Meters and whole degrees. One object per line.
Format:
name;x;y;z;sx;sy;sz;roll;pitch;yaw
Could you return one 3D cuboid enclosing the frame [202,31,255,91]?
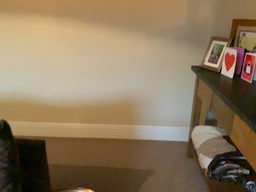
frame;0.750;-0.270;1.490;0.300;0.330;0.440;3;21;5
